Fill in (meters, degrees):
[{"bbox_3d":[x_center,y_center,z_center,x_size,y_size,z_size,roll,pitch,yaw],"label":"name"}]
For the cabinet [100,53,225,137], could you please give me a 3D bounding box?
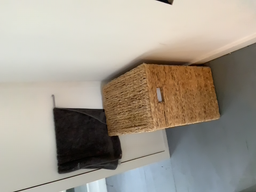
[{"bbox_3d":[0.230,0.020,1.590,0.600,0.620,0.440,-22,75,54],"label":"cabinet"}]
